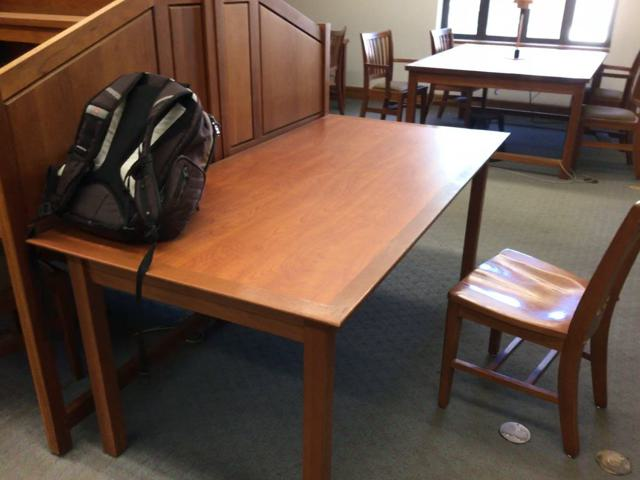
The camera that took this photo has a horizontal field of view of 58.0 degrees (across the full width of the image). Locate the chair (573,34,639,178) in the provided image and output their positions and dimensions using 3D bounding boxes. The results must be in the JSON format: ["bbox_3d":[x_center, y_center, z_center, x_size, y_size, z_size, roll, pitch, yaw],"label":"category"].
[{"bbox_3d":[2.310,-0.980,4.150,0.710,0.880,0.770,11,26,26],"label":"chair"}]

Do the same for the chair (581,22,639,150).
[{"bbox_3d":[2.710,-1.340,4.930,0.660,0.930,0.940,11,26,26],"label":"chair"}]

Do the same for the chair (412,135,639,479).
[{"bbox_3d":[0.730,0.170,1.910,0.590,0.860,0.580,17,29,36],"label":"chair"}]
